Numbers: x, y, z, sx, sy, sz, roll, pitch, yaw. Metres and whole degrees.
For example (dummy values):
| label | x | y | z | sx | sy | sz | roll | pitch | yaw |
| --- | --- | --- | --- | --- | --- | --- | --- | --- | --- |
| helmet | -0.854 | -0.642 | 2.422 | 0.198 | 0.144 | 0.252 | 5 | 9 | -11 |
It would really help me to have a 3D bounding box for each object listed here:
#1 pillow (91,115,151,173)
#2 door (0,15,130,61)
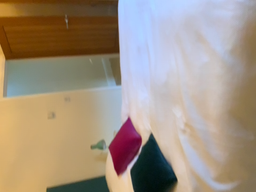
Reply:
| label | x | y | z | sx | sy | sz | roll | pitch | yaw |
| --- | --- | --- | --- | --- | --- | --- | --- | --- | --- |
| pillow | -0.050 | 0.430 | 2.020 | 0.170 | 0.410 | 0.440 | -60 | -11 | 20 |
| door | -0.990 | -0.940 | 3.470 | 0.840 | 1.990 | 0.050 | 109 | 149 | -55 |
